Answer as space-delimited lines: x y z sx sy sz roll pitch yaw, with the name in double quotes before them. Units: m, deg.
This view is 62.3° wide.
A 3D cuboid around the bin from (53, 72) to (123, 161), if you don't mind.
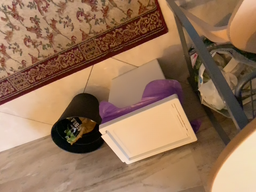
"bin" -0.210 0.100 1.250 0.290 0.440 0.200 -21 125 12
